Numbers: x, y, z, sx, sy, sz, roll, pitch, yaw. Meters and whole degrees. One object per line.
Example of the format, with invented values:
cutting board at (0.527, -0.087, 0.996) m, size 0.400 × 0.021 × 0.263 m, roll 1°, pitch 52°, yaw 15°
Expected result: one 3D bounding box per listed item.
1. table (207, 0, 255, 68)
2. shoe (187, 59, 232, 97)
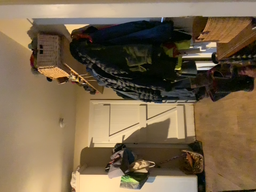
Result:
table at (0.960, -0.430, 1.420) m, size 1.140 × 0.450 × 0.260 m, roll 73°, pitch -163°, yaw -86°
shoe at (1.040, -0.210, 2.790) m, size 0.570 × 0.370 × 0.420 m, roll 73°, pitch -163°, yaw -86°
